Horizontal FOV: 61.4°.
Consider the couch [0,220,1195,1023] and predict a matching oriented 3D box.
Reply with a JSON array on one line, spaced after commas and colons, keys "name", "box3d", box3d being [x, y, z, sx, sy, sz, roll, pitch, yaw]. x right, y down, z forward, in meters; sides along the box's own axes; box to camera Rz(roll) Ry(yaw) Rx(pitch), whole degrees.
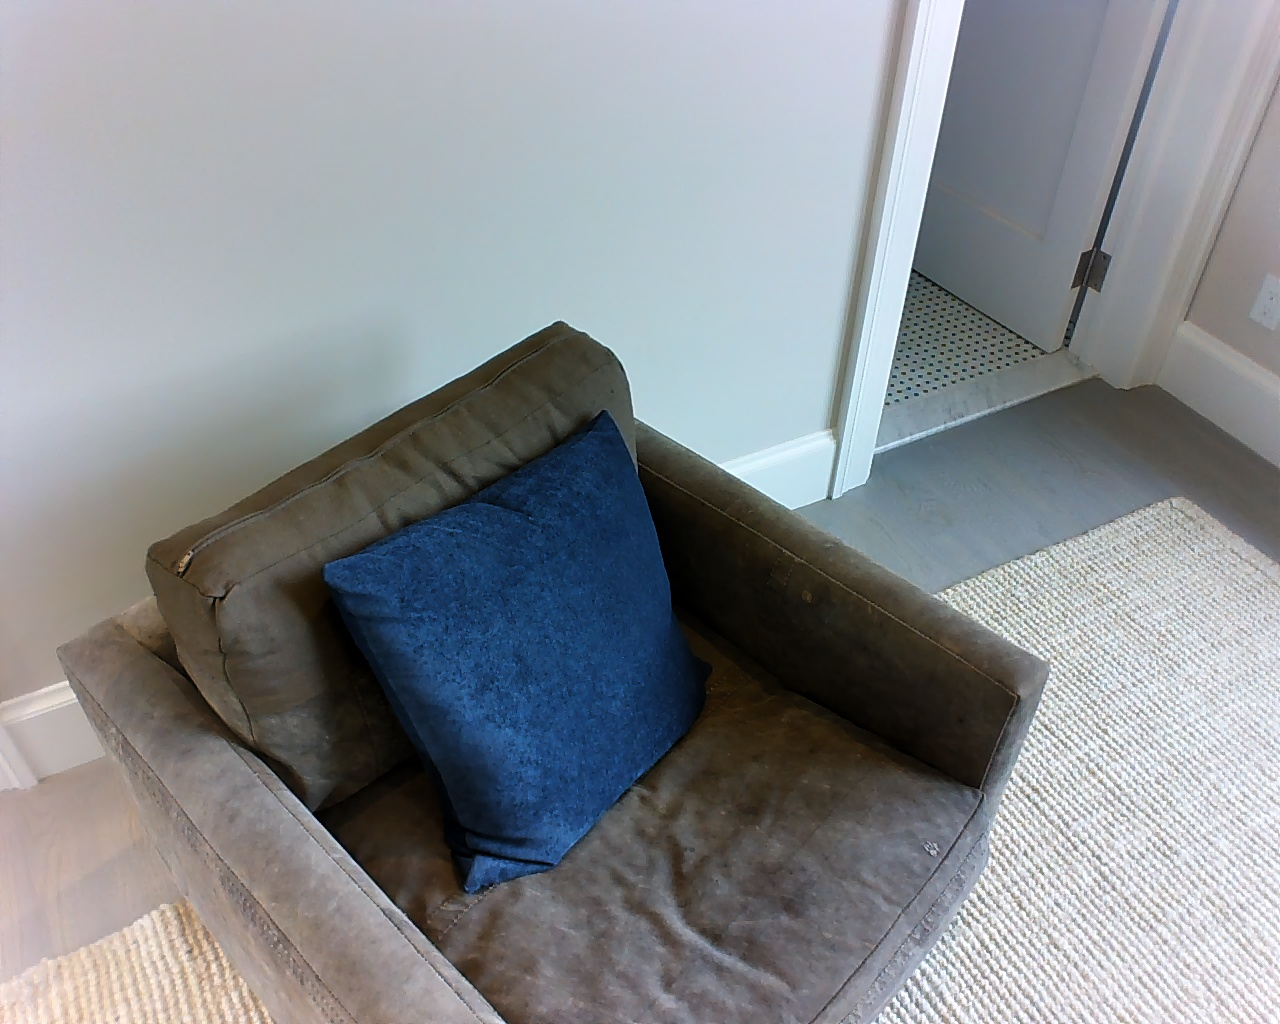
[{"name": "couch", "box3d": [-0.100, 0.310, 1.450, 1.020, 0.810, 0.970, 33, 51, 31]}]
